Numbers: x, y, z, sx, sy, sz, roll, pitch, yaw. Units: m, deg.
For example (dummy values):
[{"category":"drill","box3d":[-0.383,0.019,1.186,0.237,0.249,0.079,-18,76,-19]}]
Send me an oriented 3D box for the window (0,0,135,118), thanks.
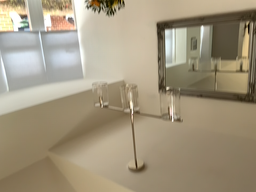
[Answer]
[{"category":"window","box3d":[-1.050,-0.720,2.170,1.060,1.410,2.230,8,-161,37]}]
